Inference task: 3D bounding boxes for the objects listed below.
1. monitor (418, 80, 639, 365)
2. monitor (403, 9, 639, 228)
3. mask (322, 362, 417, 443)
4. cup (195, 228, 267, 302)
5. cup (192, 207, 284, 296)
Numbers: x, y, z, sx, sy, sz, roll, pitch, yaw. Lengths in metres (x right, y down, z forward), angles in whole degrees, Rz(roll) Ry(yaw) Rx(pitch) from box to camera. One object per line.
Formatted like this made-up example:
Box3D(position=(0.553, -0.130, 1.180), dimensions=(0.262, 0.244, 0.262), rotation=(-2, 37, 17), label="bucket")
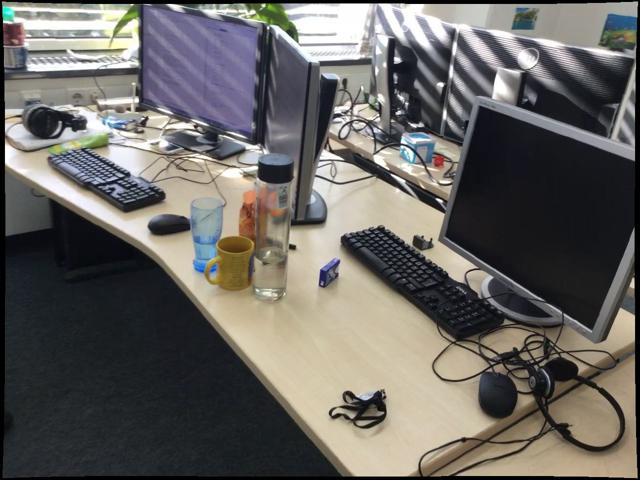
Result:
Box3D(position=(0.440, -0.060, 1.160), dimensions=(0.140, 0.390, 0.470), rotation=(-16, 35, -32), label="monitor")
Box3D(position=(0.549, -0.380, 1.680), dimensions=(0.220, 0.450, 0.580), rotation=(-16, 36, -32), label="monitor")
Box3D(position=(0.080, 0.260, 0.940), dimensions=(0.120, 0.040, 0.090), rotation=(-16, 35, -32), label="mask")
Box3D(position=(-0.190, 0.050, 1.230), dimensions=(0.110, 0.090, 0.110), rotation=(-16, 35, -32), label="cup")
Box3D(position=(-0.180, 0.020, 1.260), dimensions=(0.130, 0.100, 0.170), rotation=(-16, 35, -32), label="cup")
